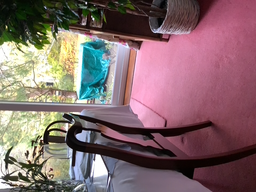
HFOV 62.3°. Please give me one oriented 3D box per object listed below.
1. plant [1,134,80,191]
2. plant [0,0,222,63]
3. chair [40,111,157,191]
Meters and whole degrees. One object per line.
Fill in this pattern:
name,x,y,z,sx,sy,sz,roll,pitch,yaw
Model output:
plant,-0.540,0.490,1.330,0.270,0.400,0.430,-153,67,-67
plant,-0.310,-0.620,1.340,0.620,1.670,0.560,-139,55,-64
chair,-0.320,0.500,2.120,0.560,1.000,0.520,-144,59,-65
